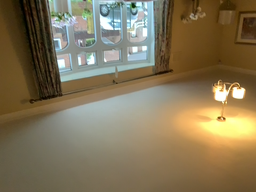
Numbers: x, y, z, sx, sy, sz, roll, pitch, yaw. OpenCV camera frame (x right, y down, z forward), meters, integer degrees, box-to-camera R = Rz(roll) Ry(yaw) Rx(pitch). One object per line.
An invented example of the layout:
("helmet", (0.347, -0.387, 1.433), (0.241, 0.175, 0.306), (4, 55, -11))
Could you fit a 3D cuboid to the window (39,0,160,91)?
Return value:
("window", (-0.330, -0.980, 3.570), (1.980, 1.350, 0.340), (-15, -155, -32))
